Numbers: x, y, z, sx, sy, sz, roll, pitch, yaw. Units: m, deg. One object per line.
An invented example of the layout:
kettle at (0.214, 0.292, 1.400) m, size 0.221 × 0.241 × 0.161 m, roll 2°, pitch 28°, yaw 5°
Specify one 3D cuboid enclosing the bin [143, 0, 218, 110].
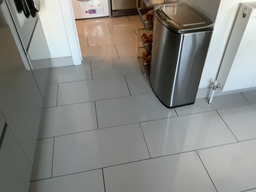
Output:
bin at (0.330, -0.300, 1.570) m, size 0.300 × 0.640 × 0.440 m, roll -8°, pitch 42°, yaw -9°
